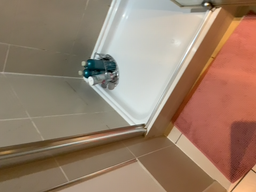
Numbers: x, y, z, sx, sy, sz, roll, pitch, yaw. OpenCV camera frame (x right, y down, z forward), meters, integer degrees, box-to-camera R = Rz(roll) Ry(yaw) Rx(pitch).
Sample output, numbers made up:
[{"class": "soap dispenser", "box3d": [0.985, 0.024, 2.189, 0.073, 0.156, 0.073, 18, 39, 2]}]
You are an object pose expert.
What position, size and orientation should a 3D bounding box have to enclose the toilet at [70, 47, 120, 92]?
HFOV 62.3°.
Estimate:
[{"class": "toilet", "box3d": [-0.240, -0.180, 1.530, 0.200, 0.220, 0.230, -40, 65, 34]}]
